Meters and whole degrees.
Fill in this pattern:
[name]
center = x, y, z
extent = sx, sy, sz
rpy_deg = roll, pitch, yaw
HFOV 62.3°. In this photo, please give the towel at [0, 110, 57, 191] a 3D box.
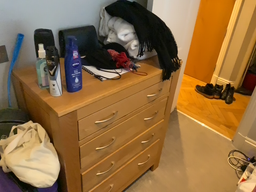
[towel]
center = -0.490, 0.230, 0.940
extent = 0.320, 0.150, 0.180
rpy_deg = 31, 41, 34
